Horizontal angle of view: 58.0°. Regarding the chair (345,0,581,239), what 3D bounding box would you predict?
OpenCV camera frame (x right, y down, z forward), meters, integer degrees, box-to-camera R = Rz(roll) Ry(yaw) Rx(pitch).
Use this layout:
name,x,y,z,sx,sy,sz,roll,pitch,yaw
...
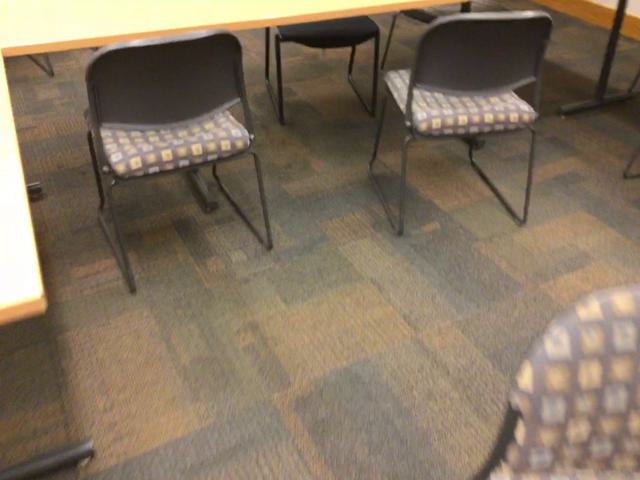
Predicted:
name,x,y,z,sx,sy,sz,roll,pitch,yaw
chair,0.430,-0.490,2.050,0.510,0.720,0.560,-8,37,-13

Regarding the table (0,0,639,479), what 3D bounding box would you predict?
name,x,y,z,sx,sy,sz,roll,pitch,yaw
table,0.830,0.250,1.010,4.050,0.930,4.770,-17,40,-23

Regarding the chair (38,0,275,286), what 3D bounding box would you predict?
name,x,y,z,sx,sy,sz,roll,pitch,yaw
chair,-0.500,-0.360,1.850,0.510,0.720,0.540,-17,40,-23
